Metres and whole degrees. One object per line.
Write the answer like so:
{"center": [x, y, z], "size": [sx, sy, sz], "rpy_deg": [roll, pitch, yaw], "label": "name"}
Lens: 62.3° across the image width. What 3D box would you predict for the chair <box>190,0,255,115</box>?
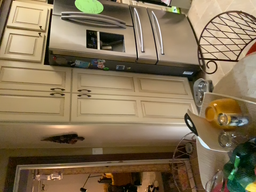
{"center": [0.880, -0.190, 1.280], "size": [0.440, 0.760, 0.460], "rpy_deg": [117, 151, -53], "label": "chair"}
